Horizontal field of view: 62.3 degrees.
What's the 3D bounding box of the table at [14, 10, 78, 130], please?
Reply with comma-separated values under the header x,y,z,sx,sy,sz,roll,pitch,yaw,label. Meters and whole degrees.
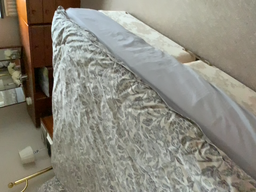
x,y,z,sx,sy,sz,roll,pitch,yaw,label
-1.180,-0.340,3.150,0.510,0.620,1.660,44,136,35,table
